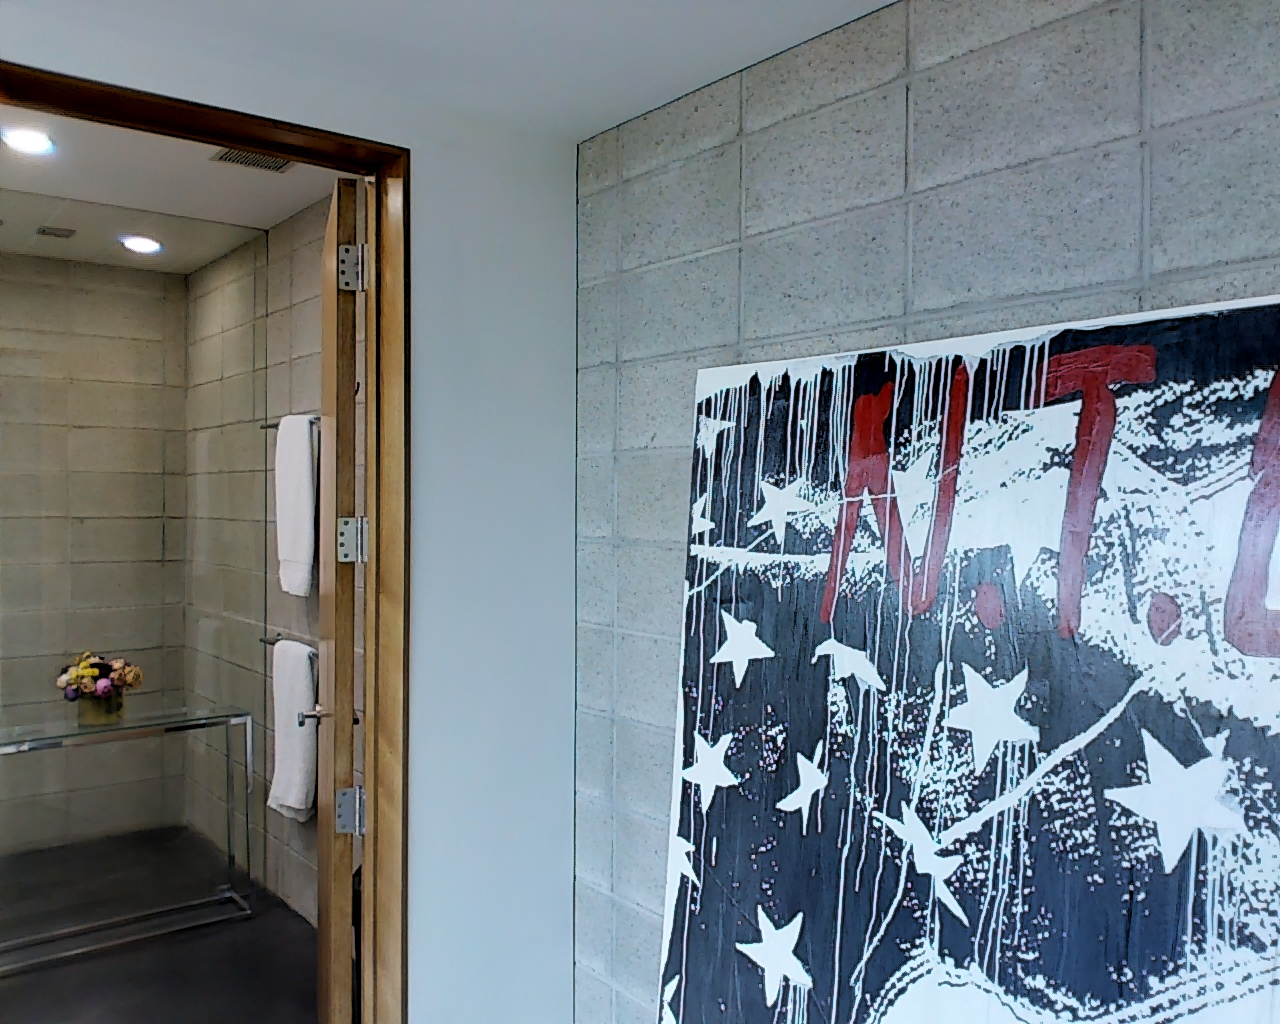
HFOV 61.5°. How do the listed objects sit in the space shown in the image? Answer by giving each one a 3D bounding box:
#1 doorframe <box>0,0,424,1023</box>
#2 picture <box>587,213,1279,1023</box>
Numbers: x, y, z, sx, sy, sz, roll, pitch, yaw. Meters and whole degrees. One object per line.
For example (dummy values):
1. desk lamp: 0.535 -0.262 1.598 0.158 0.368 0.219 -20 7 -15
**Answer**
1. doorframe: -0.950 0.320 2.190 0.930 2.430 0.360 0 1 -38
2. picture: 0.490 0.610 1.620 0.240 1.880 1.610 0 1 -38
